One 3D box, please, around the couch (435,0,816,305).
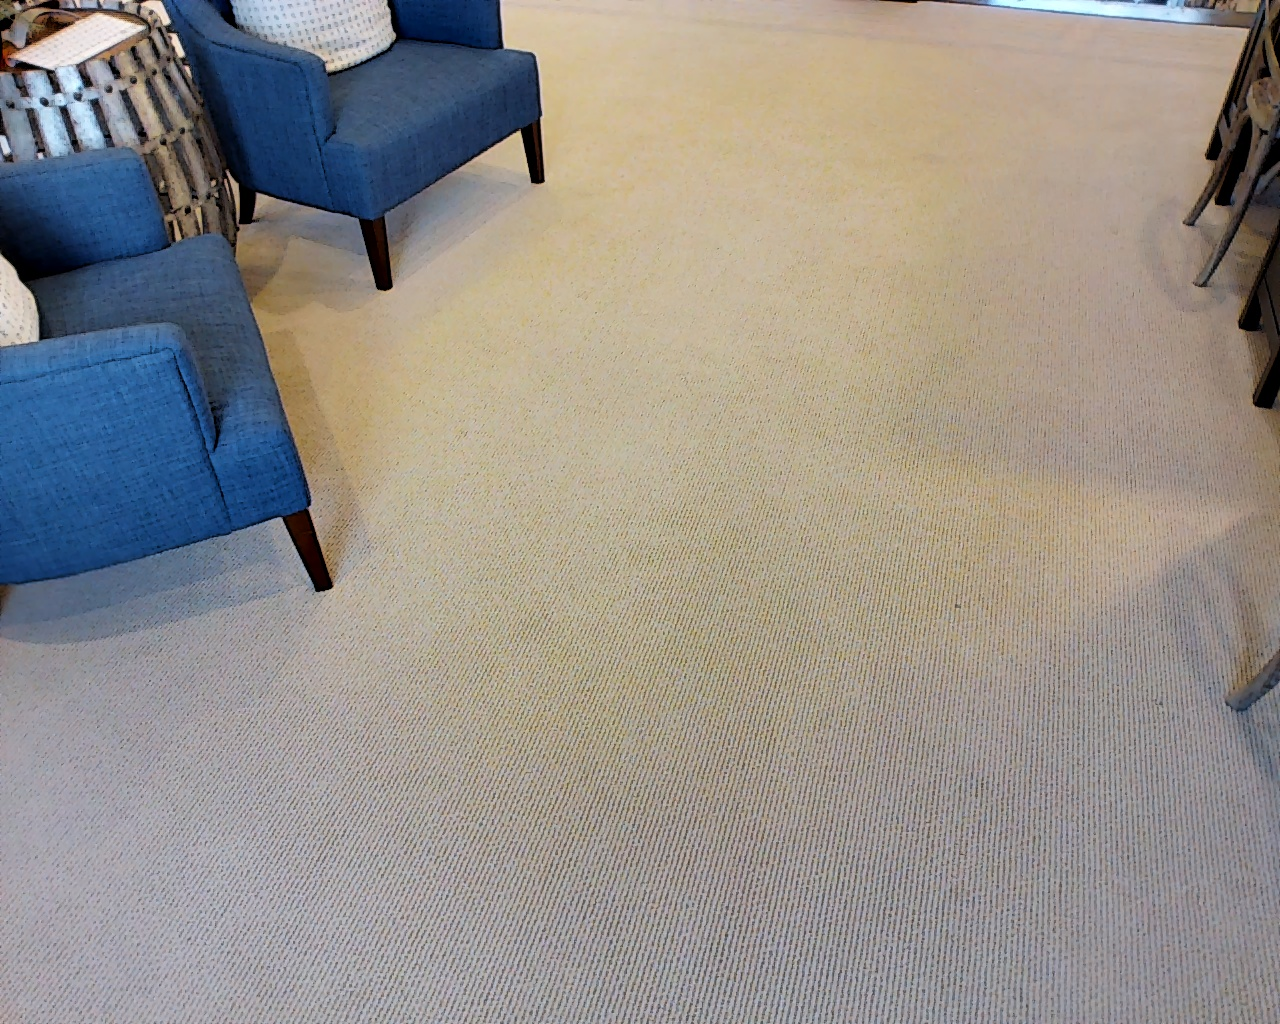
[{"bbox_3d":[-0.080,-1.290,3.210,0.830,0.870,0.850,-16,44,-17],"label":"couch"}]
